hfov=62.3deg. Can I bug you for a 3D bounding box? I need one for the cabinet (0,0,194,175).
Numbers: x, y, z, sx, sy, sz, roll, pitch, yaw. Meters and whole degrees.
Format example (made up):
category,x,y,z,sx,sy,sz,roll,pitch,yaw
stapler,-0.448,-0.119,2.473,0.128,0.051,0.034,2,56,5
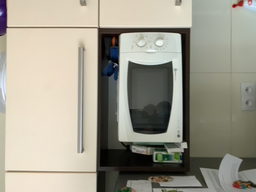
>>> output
category,x,y,z,sx,sy,sz,roll,pitch,yaw
cabinet,-0.120,-0.640,1.020,0.340,0.780,1.900,-29,-60,-89
